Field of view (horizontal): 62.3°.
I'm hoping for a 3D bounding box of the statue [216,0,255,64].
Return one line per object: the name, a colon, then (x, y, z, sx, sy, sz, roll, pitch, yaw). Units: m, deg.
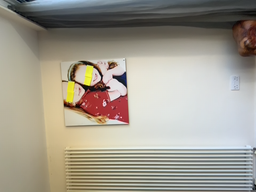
statue: (1.120, -0.620, 1.870, 0.330, 0.460, 0.570, 81, -171, -57)
